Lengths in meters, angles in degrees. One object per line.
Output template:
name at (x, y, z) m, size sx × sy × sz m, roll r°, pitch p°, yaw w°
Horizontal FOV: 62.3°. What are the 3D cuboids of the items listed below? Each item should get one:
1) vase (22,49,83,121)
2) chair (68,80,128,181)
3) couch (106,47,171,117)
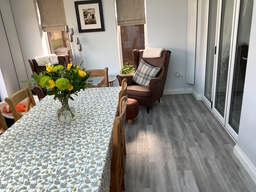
vase at (-0.620, -0.100, 1.830) m, size 0.320 × 0.550 × 0.290 m, roll -1°, pitch 20°, yaw 6°
chair at (-0.270, 0.360, 2.270) m, size 0.470 × 0.940 × 0.470 m, roll -2°, pitch 20°, yaw 3°
couch at (0.240, -0.320, 3.910) m, size 0.800 × 1.000 × 0.940 m, roll 9°, pitch 24°, yaw 31°
